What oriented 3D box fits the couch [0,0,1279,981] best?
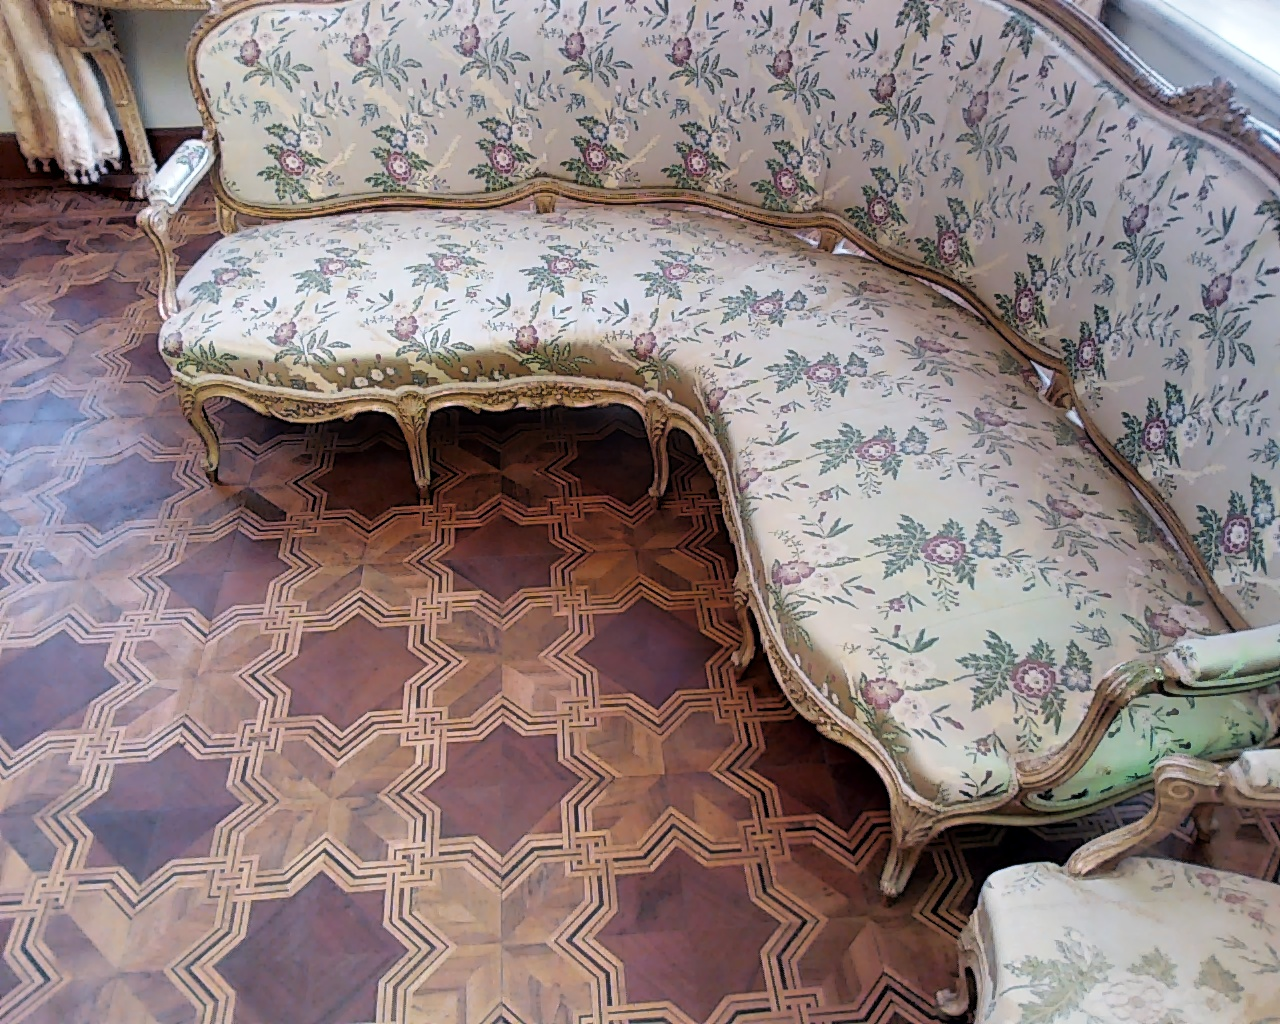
[{"bbox_3d":[0.040,-0.410,2.230,2.199,1.180,1.980,-5,41,-6],"label":"couch"}]
